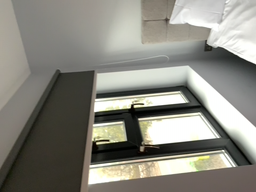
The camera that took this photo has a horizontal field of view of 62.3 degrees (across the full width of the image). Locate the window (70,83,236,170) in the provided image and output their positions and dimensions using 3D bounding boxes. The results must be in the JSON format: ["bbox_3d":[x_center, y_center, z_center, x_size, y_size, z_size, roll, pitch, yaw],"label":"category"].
[{"bbox_3d":[0.130,0.170,1.900,1.060,1.130,0.070,-103,10,-62],"label":"window"}]

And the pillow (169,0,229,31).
[{"bbox_3d":[0.620,-0.890,1.850,0.150,0.480,0.600,-55,-33,-59],"label":"pillow"}]
